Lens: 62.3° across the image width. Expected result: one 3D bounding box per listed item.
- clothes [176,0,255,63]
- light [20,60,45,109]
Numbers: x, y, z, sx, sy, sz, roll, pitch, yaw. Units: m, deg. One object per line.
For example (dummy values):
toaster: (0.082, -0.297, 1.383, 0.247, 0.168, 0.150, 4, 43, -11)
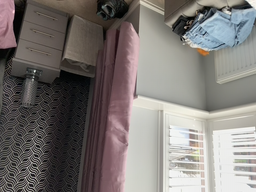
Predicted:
clothes: (0.670, -0.450, 1.520, 0.420, 0.170, 0.490, 12, 162, -27)
light: (-0.910, -0.100, 2.020, 0.120, 0.410, 0.230, 13, 161, -29)
